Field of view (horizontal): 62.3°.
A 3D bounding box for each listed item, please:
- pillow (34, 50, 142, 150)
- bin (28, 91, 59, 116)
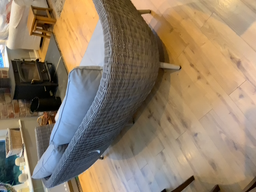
[{"bbox_3d":[-0.300,0.030,1.510,0.180,0.450,0.780,51,125,14],"label":"pillow"},{"bbox_3d":[-1.360,0.110,3.410,0.240,0.380,0.310,-54,51,38],"label":"bin"}]
